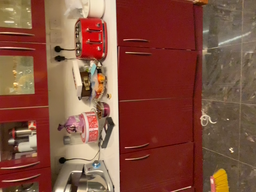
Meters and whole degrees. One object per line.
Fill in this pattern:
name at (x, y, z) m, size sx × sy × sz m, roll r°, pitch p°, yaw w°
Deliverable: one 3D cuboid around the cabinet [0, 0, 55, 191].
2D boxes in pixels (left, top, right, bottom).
cabinet at (-0.970, 0.070, 1.330) m, size 0.410 × 0.890 × 1.620 m, roll -175°, pitch 83°, yaw -64°
